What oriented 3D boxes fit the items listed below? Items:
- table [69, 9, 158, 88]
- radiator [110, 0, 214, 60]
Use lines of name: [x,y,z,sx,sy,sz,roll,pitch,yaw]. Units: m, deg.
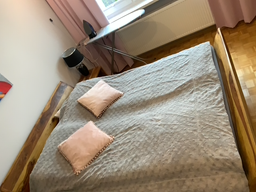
table: [-0.230,-0.790,3.830,1.230,0.920,0.470,-17,39,27]
radiator: [0.540,-1.160,3.630,1.590,0.710,0.100,-15,40,29]
